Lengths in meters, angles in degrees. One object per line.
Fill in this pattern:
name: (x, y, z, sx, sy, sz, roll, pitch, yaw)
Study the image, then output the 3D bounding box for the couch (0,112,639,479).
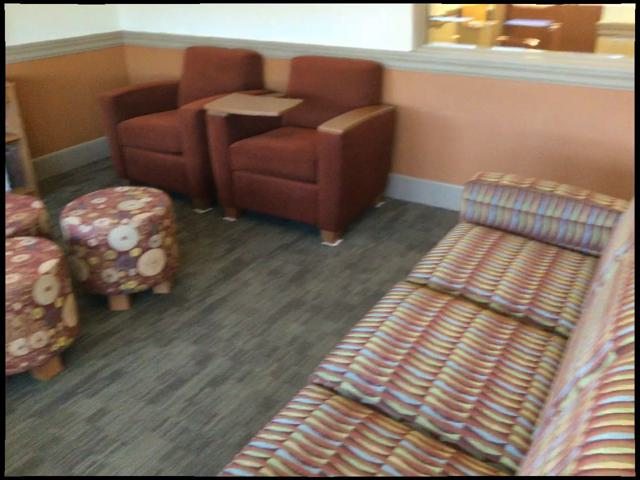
couch: (0.409, 0.371, 1.380, 0.879, 0.821, 1.919, 16, 32, 30)

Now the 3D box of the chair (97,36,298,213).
chair: (-0.738, -0.792, 3.680, 0.869, 0.851, 0.810, 17, 30, 32)

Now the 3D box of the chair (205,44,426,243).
chair: (0.000, -0.601, 3.230, 0.859, 0.791, 0.820, 16, 32, 30)
